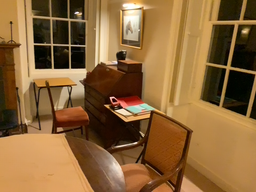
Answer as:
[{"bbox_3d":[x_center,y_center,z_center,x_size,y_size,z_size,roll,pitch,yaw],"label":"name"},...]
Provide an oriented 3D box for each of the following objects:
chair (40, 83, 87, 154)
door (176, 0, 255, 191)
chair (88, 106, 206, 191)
[{"bbox_3d":[-0.910,0.270,2.980,0.540,0.790,0.570,-4,18,-24],"label":"chair"},{"bbox_3d":[0.990,-0.350,2.060,0.110,2.580,0.950,-5,18,-28],"label":"door"},{"bbox_3d":[0.080,0.640,1.640,0.590,0.920,0.600,-6,19,-30],"label":"chair"}]
